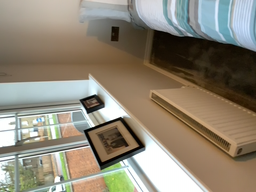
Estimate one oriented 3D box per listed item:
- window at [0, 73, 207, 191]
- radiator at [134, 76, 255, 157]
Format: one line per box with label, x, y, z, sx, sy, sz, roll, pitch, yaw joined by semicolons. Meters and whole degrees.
window;-0.430;0.340;0.850;1.730;1.090;0.330;42;130;54
radiator;0.520;0.040;1.410;0.950;0.590;0.070;39;128;56
